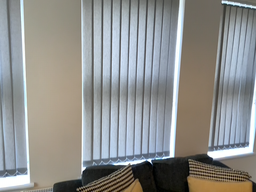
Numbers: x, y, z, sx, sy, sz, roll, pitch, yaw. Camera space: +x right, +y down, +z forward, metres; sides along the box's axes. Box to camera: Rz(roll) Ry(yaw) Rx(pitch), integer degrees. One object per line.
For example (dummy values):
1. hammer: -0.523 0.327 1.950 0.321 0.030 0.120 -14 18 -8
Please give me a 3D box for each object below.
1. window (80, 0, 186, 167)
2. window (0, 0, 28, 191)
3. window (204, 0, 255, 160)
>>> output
1. window: 0.050 -0.150 1.830 0.900 1.490 0.030 -1 9 -20
2. window: -1.040 -0.050 1.460 0.580 1.610 0.060 -1 10 -21
3. window: 1.130 -0.120 2.220 0.580 1.590 0.040 -1 9 -18
